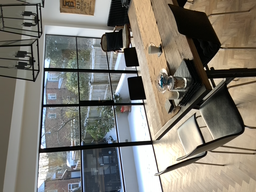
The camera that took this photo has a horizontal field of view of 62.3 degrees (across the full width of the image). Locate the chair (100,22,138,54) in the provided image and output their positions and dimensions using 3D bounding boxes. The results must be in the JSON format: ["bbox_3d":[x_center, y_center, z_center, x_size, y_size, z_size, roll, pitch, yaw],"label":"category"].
[{"bbox_3d":[-0.240,-1.400,5.230,0.680,0.790,0.560,-174,84,-73],"label":"chair"}]
